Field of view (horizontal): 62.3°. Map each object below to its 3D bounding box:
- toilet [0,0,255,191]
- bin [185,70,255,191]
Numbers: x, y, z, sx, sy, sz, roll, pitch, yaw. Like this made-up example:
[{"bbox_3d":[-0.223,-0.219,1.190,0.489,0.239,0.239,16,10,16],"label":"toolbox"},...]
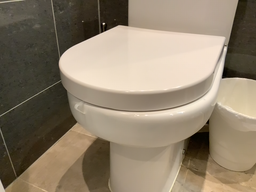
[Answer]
[{"bbox_3d":[0.080,-0.110,0.630,0.410,0.810,0.630,13,31,20],"label":"toilet"},{"bbox_3d":[0.400,0.110,0.770,0.290,0.280,0.300,12,31,18],"label":"bin"}]
